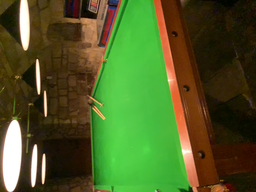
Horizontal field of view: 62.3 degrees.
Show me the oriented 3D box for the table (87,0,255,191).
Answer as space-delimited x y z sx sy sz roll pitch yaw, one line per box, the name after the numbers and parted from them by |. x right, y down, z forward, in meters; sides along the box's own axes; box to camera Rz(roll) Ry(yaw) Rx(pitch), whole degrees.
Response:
0.150 0.260 2.620 3.240 0.910 1.700 127 139 -63 | table
